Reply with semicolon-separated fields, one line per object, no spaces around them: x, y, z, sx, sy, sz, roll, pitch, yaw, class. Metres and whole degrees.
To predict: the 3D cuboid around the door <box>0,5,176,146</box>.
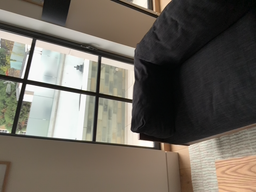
-0.540;-0.180;2.010;0.120;2.210;1.110;138;137;-55;door
